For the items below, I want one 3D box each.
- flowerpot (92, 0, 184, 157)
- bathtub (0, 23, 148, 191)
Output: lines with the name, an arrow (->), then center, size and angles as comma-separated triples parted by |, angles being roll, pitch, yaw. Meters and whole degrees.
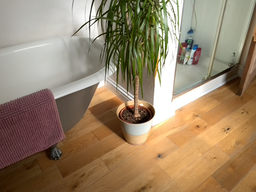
flowerpot -> 0.050, -0.150, 1.280 | 0.290, 1.020, 0.360 | -26, 42, -29
bathtub -> -0.790, 0.160, 1.180 | 1.710, 0.590, 0.750 | -25, 42, -28
